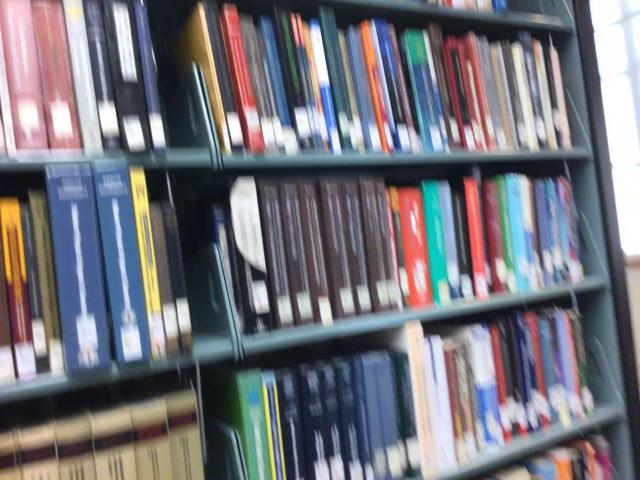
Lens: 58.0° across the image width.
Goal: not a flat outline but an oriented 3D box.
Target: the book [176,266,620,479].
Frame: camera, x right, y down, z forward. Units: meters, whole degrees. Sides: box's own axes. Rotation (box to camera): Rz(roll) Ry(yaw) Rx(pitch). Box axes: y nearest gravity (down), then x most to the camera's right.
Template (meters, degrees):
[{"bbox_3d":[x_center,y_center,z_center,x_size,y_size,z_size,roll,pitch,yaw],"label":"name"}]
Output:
[{"bbox_3d":[0.200,0.300,1.180,0.880,0.320,0.250,-10,-3,-30],"label":"book"}]
